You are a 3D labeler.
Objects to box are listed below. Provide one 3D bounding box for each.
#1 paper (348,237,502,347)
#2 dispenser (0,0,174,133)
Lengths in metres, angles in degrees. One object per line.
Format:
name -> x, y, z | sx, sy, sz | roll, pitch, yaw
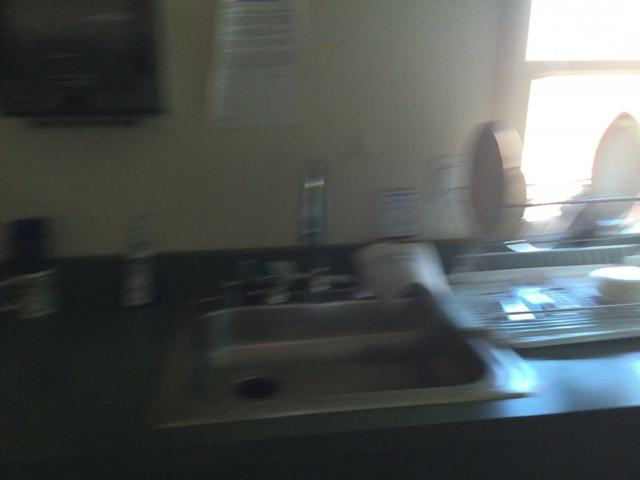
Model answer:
paper -> 0.210, 0.100, 1.270 | 0.250, 0.150, 0.310 | -1, 12, -6
dispenser -> -0.470, -0.330, 1.130 | 0.320, 0.230, 0.240 | -1, 12, -6
